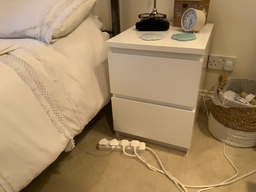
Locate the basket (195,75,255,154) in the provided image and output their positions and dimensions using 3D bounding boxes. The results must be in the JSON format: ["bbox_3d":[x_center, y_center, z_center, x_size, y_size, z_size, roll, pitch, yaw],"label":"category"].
[{"bbox_3d":[0.620,0.090,1.140,0.420,0.240,0.330,11,32,22],"label":"basket"}]
